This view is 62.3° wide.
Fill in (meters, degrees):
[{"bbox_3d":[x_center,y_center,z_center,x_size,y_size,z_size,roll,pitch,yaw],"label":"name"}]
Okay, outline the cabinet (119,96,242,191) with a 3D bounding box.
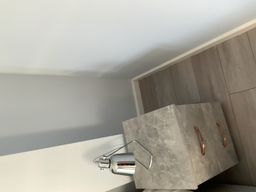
[{"bbox_3d":[0.320,0.260,1.300,0.440,0.530,0.420,-18,78,47],"label":"cabinet"}]
